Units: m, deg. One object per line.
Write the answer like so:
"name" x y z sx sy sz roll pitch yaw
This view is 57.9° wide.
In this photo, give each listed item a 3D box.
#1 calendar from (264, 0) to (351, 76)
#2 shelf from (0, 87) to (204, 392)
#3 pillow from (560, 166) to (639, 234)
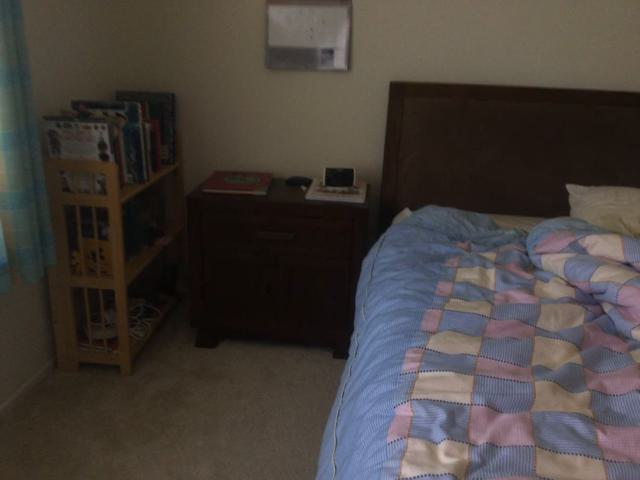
"calendar" -0.050 -0.810 2.320 0.340 0.280 0.060 3 19 8
"shelf" -0.770 -0.060 2.270 0.330 0.990 0.760 3 19 8
"pillow" 1.230 -0.130 2.030 0.680 0.140 0.370 7 20 17
